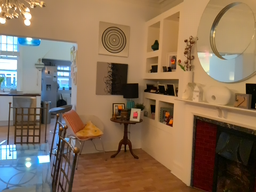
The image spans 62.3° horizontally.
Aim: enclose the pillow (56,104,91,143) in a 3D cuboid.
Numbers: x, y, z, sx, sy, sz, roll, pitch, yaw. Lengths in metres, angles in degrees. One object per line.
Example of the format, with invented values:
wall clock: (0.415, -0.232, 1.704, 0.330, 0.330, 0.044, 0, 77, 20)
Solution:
pillow: (-0.940, 0.470, 3.730, 0.200, 0.470, 0.520, -22, 15, 19)
